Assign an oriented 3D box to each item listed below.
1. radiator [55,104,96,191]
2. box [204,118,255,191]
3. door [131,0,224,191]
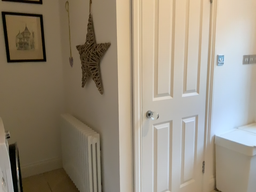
[{"bbox_3d":[-0.520,0.530,1.980,0.090,0.730,0.960,-6,12,-29],"label":"radiator"},{"bbox_3d":[1.150,0.590,2.050,0.720,0.570,0.390,-7,12,-32],"label":"box"},{"bbox_3d":[0.400,-0.110,1.640,0.850,1.950,0.080,-7,12,-32],"label":"door"}]
